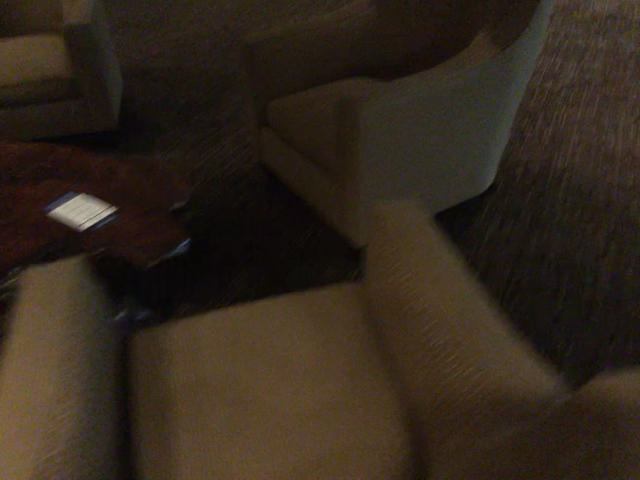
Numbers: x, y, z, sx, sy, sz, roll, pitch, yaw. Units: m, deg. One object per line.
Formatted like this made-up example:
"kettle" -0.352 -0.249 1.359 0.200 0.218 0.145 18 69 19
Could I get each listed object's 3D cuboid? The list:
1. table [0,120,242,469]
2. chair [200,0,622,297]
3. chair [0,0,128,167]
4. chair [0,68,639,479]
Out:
"table" -1.120 0.020 1.800 1.540 0.480 0.750 12 40 14
"chair" 0.270 -0.590 2.180 1.070 0.890 0.960 -22 44 -26
"chair" -1.450 -0.980 2.730 0.850 0.850 1.010 -7 39 -10
"chair" -0.060 0.360 0.970 0.890 0.880 0.980 -8 39 -12
